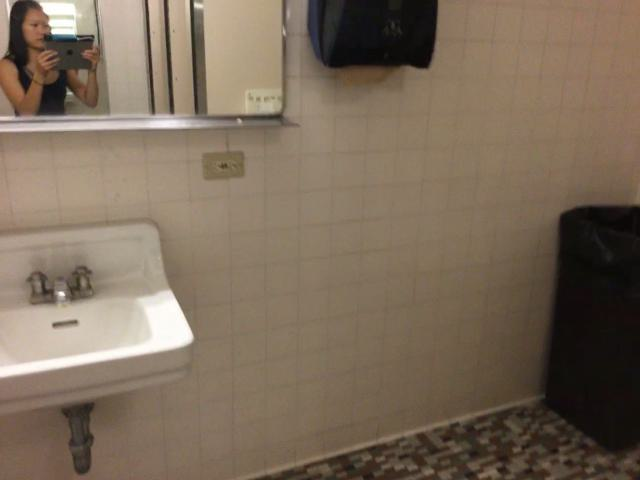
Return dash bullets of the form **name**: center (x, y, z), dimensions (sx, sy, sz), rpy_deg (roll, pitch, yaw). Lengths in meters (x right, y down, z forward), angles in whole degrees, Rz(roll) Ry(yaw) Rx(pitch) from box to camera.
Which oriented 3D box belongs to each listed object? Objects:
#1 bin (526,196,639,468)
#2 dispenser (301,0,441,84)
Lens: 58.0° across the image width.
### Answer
- **bin**: center (1.110, 0.300, 2.100), dimensions (0.420, 0.820, 0.430), rpy_deg (-6, 18, -21)
- **dispenser**: center (0.130, -0.620, 1.520), dimensions (0.320, 0.400, 0.180), rpy_deg (-6, 18, -21)
